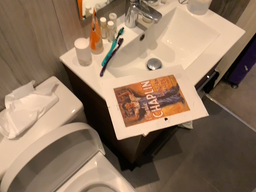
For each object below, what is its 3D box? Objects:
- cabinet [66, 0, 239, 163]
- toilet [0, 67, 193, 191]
[{"bbox_3d":[0.110,-0.090,1.040,0.400,0.450,0.610,39,65,17],"label":"cabinet"},{"bbox_3d":[-0.190,0.420,0.930,0.650,0.810,0.410,39,65,17],"label":"toilet"}]
